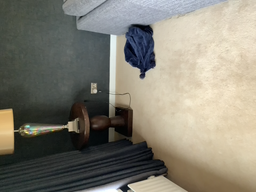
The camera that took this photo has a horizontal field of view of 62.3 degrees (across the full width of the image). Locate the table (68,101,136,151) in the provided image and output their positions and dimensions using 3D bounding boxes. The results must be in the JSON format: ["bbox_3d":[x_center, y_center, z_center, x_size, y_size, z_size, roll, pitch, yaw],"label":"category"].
[{"bbox_3d":[-0.320,0.320,2.580,0.490,0.670,0.480,1,91,57],"label":"table"}]

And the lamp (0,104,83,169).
[{"bbox_3d":[-0.970,0.360,2.170,0.460,0.880,0.500,3,94,57],"label":"lamp"}]
